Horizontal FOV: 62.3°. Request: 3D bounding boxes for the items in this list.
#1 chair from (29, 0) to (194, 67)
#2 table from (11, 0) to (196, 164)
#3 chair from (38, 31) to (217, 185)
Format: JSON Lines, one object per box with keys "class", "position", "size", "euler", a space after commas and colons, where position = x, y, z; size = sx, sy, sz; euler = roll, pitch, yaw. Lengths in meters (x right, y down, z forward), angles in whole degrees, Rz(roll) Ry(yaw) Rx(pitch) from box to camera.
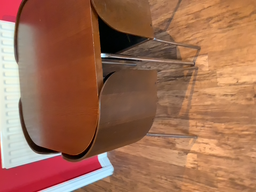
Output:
{"class": "chair", "position": [-0.070, -0.470, 1.230], "size": [0.440, 0.760, 0.390], "euler": [48, 124, 30]}
{"class": "table", "position": [-0.160, -0.180, 1.340], "size": [0.820, 0.760, 0.850], "euler": [-3, 92, 44]}
{"class": "chair", "position": [0.010, 0.050, 1.190], "size": [0.390, 0.760, 0.560], "euler": [52, 126, 28]}
